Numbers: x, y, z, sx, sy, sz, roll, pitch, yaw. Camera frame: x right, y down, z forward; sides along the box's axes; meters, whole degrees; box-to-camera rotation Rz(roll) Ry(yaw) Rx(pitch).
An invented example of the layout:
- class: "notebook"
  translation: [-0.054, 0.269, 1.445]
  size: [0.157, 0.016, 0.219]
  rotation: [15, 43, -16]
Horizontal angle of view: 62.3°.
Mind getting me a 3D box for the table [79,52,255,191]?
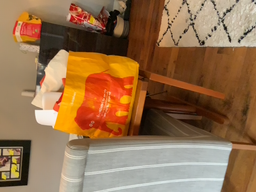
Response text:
- class: "table"
  translation: [0.100, 0.600, 1.690]
  size: [0.910, 0.710, 1.700]
  rotation: [-144, 63, -64]
